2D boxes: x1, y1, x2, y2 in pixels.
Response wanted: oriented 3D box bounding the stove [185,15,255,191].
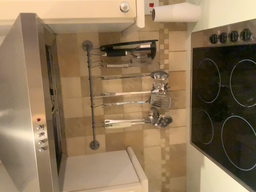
[{"bbox_3d":[0.390,0.010,0.880,0.520,0.060,0.590,-139,46,-74],"label":"stove"}]
